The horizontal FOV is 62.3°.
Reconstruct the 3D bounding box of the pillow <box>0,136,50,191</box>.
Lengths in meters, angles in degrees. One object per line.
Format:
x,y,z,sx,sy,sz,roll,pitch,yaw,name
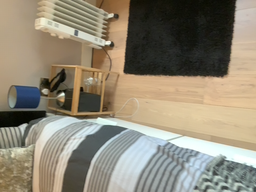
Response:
-0.660,0.500,1.230,0.150,0.290,0.430,1,118,17,pillow
